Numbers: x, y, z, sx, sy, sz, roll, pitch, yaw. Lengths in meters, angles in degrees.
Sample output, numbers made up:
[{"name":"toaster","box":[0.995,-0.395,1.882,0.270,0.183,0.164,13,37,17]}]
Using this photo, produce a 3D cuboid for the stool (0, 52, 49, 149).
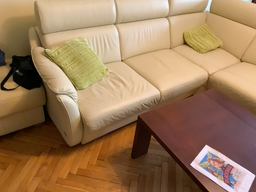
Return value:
[{"name":"stool","box":[-1.070,0.030,1.780,0.550,0.480,0.610,-19,45,-30]}]

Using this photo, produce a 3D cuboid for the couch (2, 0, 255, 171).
[{"name":"couch","box":[0.310,-0.480,2.300,2.590,0.980,1.040,-20,45,-32]}]
